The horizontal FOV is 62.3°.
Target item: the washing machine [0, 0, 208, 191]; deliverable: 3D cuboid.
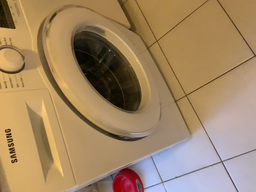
[{"bbox_3d":[-0.250,0.060,0.850,0.640,0.910,0.620,-34,71,31],"label":"washing machine"}]
